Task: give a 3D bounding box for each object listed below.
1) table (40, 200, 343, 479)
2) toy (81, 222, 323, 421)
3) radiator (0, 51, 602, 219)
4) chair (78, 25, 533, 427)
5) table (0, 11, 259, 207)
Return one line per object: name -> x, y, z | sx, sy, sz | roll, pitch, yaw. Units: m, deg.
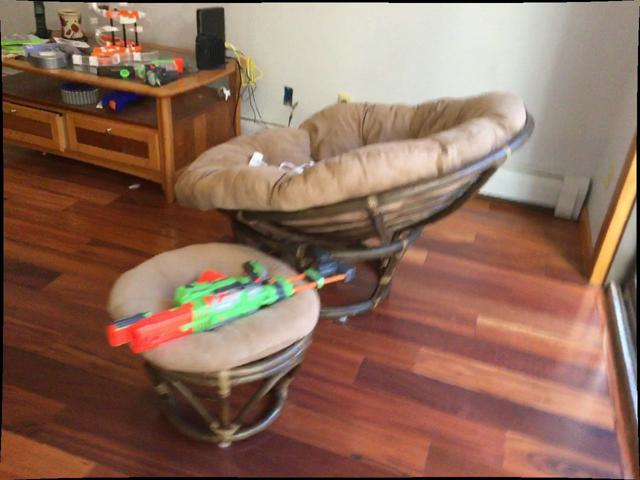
table -> -0.290, 0.240, 1.530 | 0.540, 0.410, 0.540 | 13, 32, 14
toy -> -0.250, 0.160, 1.390 | 0.370, 0.130, 0.490 | 13, 32, 15
radiator -> -0.599, -0.701, 3.270 | 4.037, 0.300, 0.160 | 13, 32, 14
chair -> 0.060, -0.190, 2.000 | 1.119, 0.760, 1.120 | 13, 32, 14
table -> -1.079, -0.741, 2.980 | 1.279, 0.590, 0.850 | 13, 32, 14
